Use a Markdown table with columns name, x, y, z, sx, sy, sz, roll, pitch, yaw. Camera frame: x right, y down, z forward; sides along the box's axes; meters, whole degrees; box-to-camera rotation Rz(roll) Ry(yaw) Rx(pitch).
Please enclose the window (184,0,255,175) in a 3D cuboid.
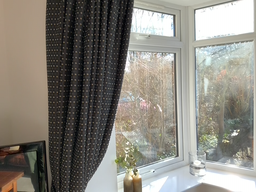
| name | x | y | z | sx | sy | sz | roll | pitch | yaw |
| --- | --- | --- | --- | --- | --- | --- | --- | --- | --- |
| window | 1.350 | -0.130 | 1.680 | 1.790 | 1.650 | 0.080 | 0 | 5 | 35 |
